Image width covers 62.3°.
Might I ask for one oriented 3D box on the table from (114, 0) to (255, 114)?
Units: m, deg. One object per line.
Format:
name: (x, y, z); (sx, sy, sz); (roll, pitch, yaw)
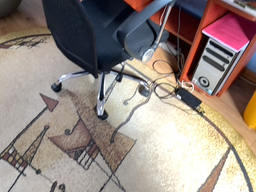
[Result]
table: (0.390, -0.510, 1.340); (0.470, 0.740, 0.920); (-36, 63, -26)
